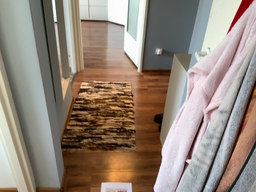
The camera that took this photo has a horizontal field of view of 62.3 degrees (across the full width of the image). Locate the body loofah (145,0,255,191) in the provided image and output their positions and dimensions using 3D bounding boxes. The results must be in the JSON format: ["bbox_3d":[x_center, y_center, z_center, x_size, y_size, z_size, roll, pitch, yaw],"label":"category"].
[{"bbox_3d":[0.250,0.230,0.760,0.210,1.110,0.450,1,31,-6],"label":"body loofah"}]
